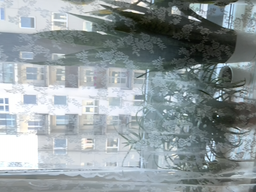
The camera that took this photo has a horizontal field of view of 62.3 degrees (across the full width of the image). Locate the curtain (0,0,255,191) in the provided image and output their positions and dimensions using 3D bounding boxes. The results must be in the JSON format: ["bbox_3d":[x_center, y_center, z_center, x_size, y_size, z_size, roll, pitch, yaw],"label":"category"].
[{"bbox_3d":[-0.320,0.300,0.960,0.270,2.720,1.860,-133,46,-76],"label":"curtain"}]
